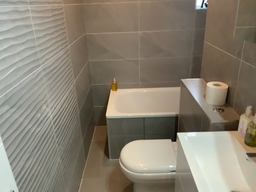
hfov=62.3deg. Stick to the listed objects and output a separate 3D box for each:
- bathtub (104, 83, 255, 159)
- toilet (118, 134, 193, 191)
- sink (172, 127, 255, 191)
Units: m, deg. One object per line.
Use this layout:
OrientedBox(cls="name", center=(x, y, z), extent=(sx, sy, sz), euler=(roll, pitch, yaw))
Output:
OrientedBox(cls="bathtub", center=(0.620, 0.250, 2.390), extent=(1.670, 0.530, 0.670), euler=(-2, 23, 1))
OrientedBox(cls="toilet", center=(0.190, 0.610, 1.680), extent=(0.500, 0.460, 0.380), euler=(-2, 23, 1))
OrientedBox(cls="sink", center=(0.400, 0.350, 0.820), extent=(0.350, 0.130, 0.640), euler=(-1, 23, 2))
